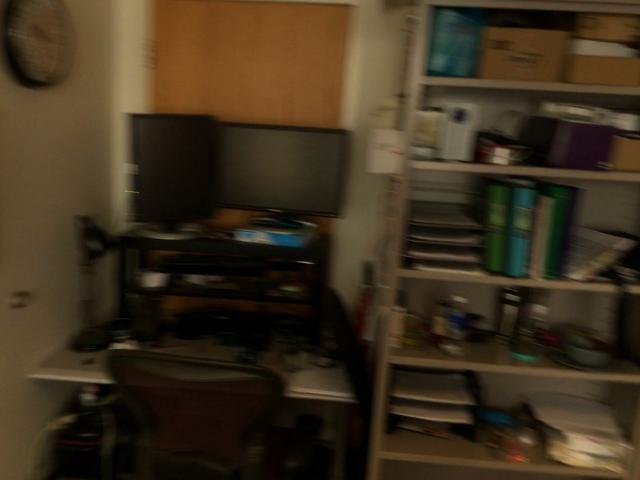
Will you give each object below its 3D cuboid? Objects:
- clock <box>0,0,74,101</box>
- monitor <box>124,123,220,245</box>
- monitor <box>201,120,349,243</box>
[{"bbox_3d":[-0.940,-0.650,1.880,0.070,0.370,0.380,1,11,4],"label":"clock"},{"bbox_3d":[-0.620,-0.250,2.480,0.300,0.490,0.290,1,11,4],"label":"monitor"},{"bbox_3d":[-0.170,-0.260,2.440,0.570,0.480,0.330,1,11,4],"label":"monitor"}]
